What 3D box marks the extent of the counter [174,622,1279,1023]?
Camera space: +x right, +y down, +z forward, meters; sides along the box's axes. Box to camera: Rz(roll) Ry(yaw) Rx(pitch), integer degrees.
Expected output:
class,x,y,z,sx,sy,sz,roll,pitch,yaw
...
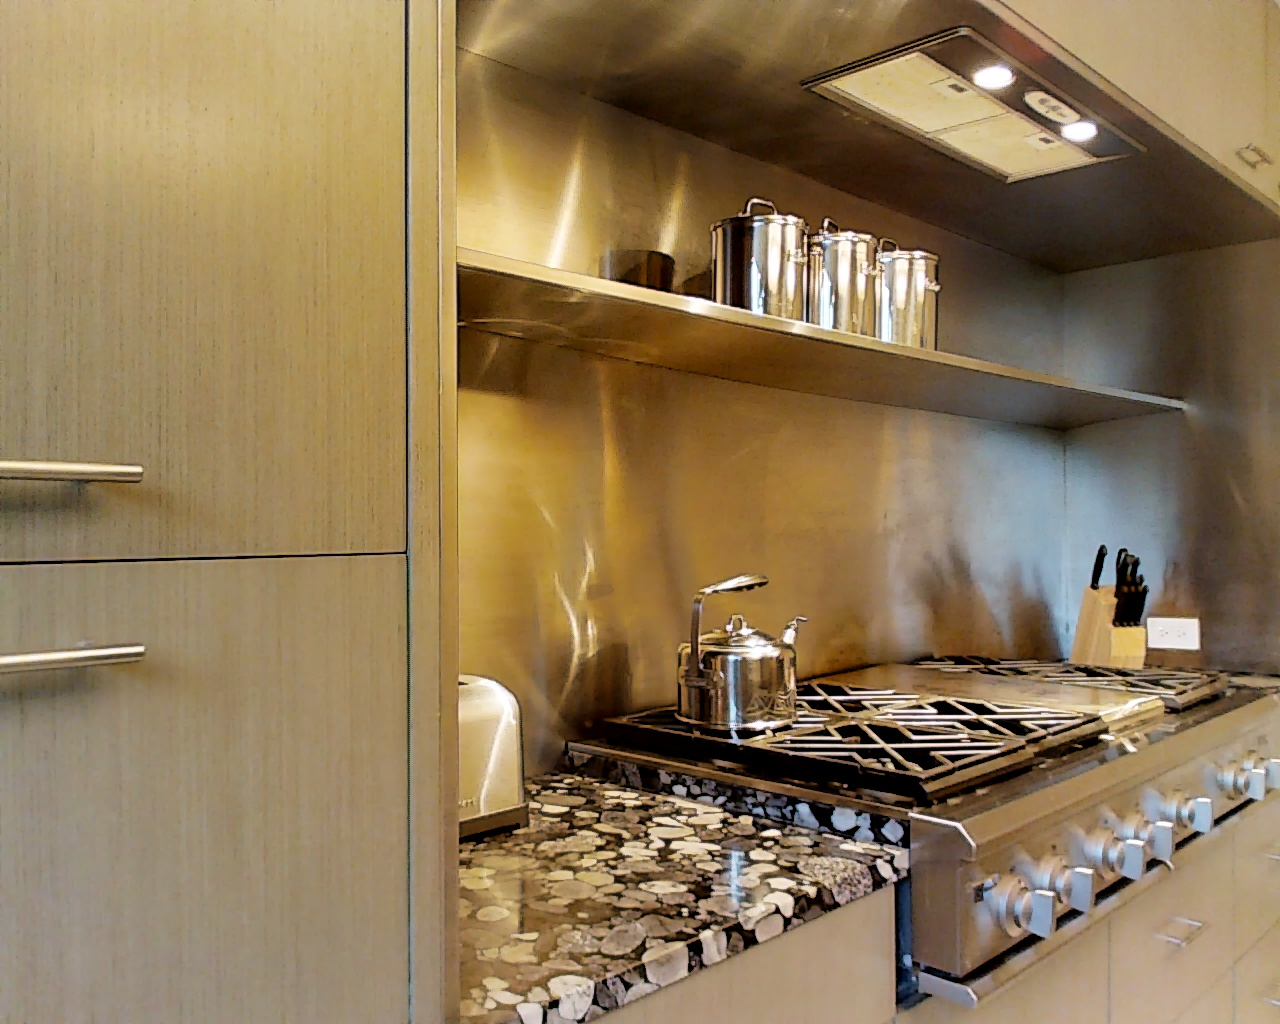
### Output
class,x,y,z,sx,sy,sz,roll,pitch,yaw
counter,0.550,0.350,1.890,0.590,0.100,2.470,-1,-1,45
